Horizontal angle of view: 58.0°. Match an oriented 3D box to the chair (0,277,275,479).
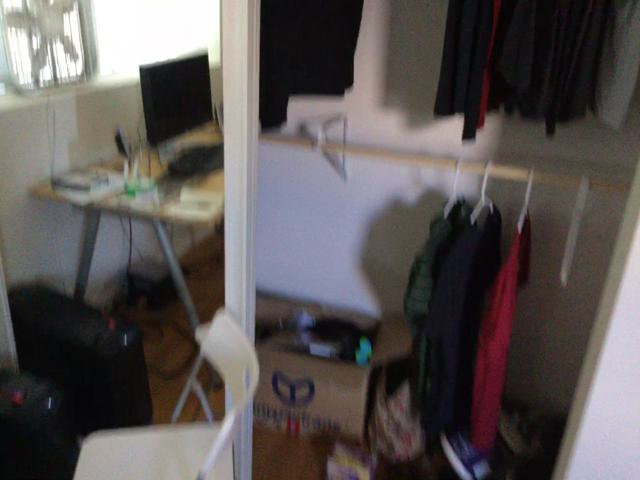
[{"bbox_3d":[-0.440,0.580,1.480,0.600,0.760,0.570,-4,21,-10],"label":"chair"}]
